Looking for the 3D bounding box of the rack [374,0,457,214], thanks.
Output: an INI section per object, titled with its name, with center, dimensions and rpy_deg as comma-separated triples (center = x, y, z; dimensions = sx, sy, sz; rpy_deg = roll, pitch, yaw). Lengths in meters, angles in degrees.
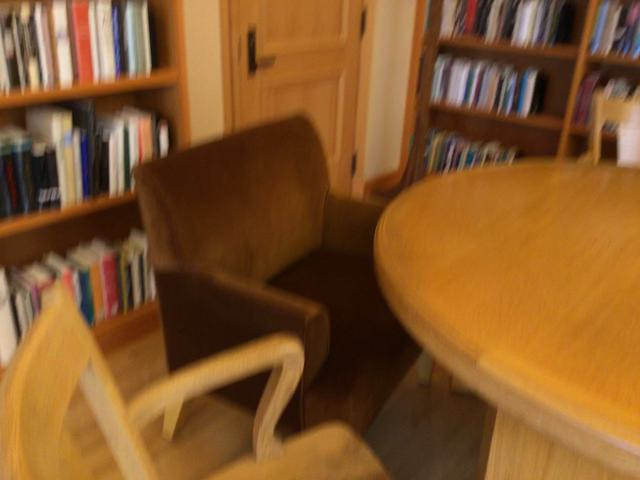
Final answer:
[rack]
center = 0.520, -1.020, 3.080
dimensions = 0.250, 1.750, 0.280
rpy_deg = 21, 31, 38
